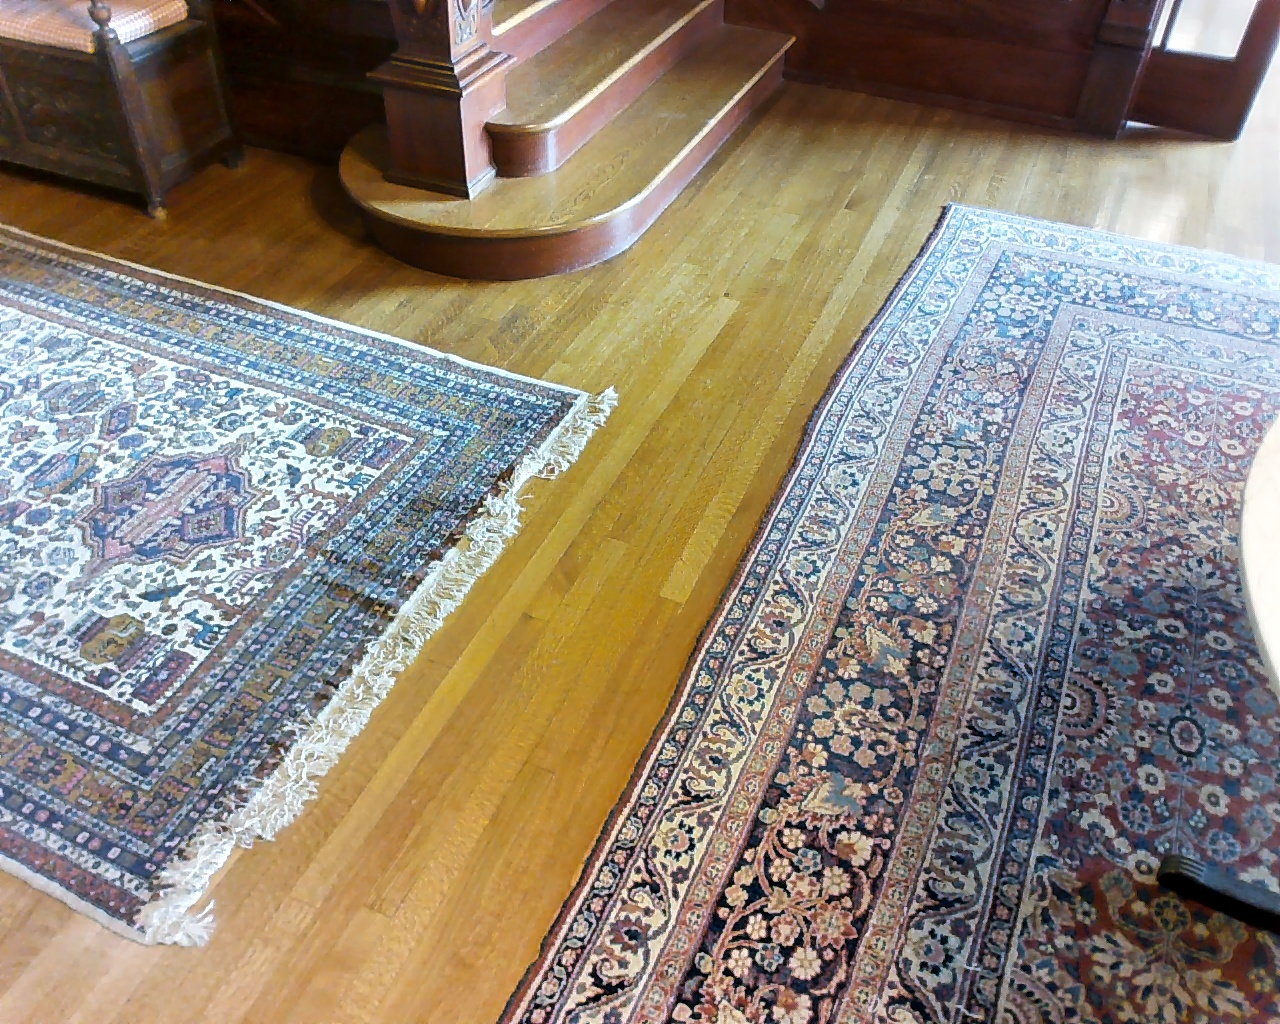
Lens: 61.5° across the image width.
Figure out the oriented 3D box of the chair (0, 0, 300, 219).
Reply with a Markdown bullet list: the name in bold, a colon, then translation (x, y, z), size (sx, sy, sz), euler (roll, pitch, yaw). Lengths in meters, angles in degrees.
- **chair**: translation (-1.830, -1.750, 3.250), size (1.180, 1.340, 0.590), euler (17, 45, 17)
